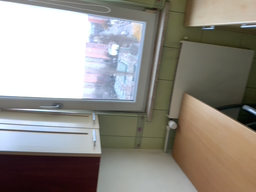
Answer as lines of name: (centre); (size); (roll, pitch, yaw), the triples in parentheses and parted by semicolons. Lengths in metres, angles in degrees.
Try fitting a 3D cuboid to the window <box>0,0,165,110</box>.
window: (-0.460, -0.350, 1.510); (0.180, 1.320, 0.810); (-122, 38, -69)
